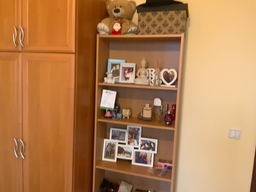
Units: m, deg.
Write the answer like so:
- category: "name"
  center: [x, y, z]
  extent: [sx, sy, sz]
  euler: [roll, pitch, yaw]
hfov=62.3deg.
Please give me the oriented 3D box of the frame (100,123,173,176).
- category: "frame"
  center: [0.060, 0.410, 1.690]
  extent: [0.550, 0.310, 0.120]
  euler: [5, 7, 16]

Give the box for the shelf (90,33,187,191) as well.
- category: "shelf"
  center: [0.060, 0.420, 1.670]
  extent: [0.630, 1.730, 0.260]
  euler: [5, 7, 16]
